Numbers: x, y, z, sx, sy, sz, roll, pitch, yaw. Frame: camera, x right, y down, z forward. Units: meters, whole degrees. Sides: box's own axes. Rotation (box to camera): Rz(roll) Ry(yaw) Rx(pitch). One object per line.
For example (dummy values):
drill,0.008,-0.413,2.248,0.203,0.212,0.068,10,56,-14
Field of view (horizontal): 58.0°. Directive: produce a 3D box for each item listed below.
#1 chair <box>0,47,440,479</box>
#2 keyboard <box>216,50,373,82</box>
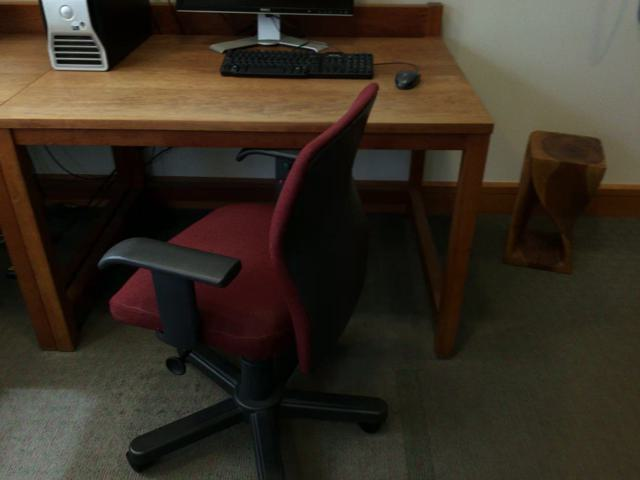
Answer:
chair,-0.140,0.110,1.330,0.650,0.920,0.620,9,30,14
keyboard,-0.070,-0.510,1.690,0.440,0.050,0.150,2,29,1
